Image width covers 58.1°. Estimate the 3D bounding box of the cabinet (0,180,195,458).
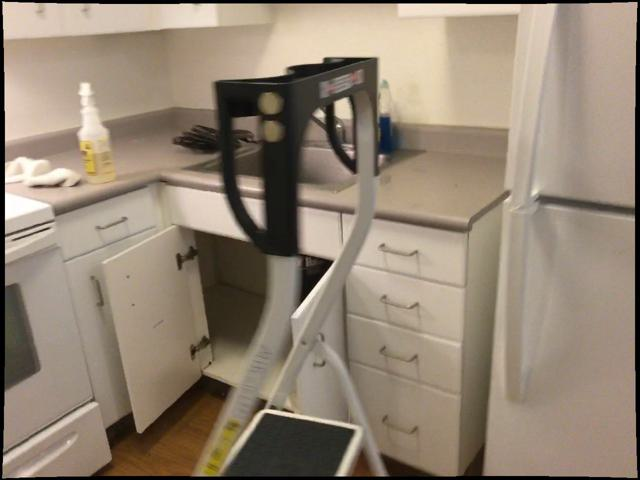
[{"bbox_3d":[-0.678,0.241,1.890,0.070,0.762,0.520,12,26,34],"label":"cabinet"}]
